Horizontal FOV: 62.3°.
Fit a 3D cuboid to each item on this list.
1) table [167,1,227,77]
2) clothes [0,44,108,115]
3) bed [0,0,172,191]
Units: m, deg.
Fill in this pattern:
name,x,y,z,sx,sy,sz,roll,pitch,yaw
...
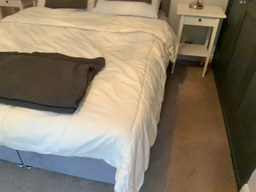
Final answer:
name,x,y,z,sx,sy,sz,roll,pitch,yaw
table,0.750,-0.650,2.440,0.480,0.700,0.390,9,37,9
clothes,-0.590,-0.140,1.220,0.840,0.040,0.520,8,37,8
bed,-0.510,-0.300,1.940,1.590,0.640,2.130,9,37,9
